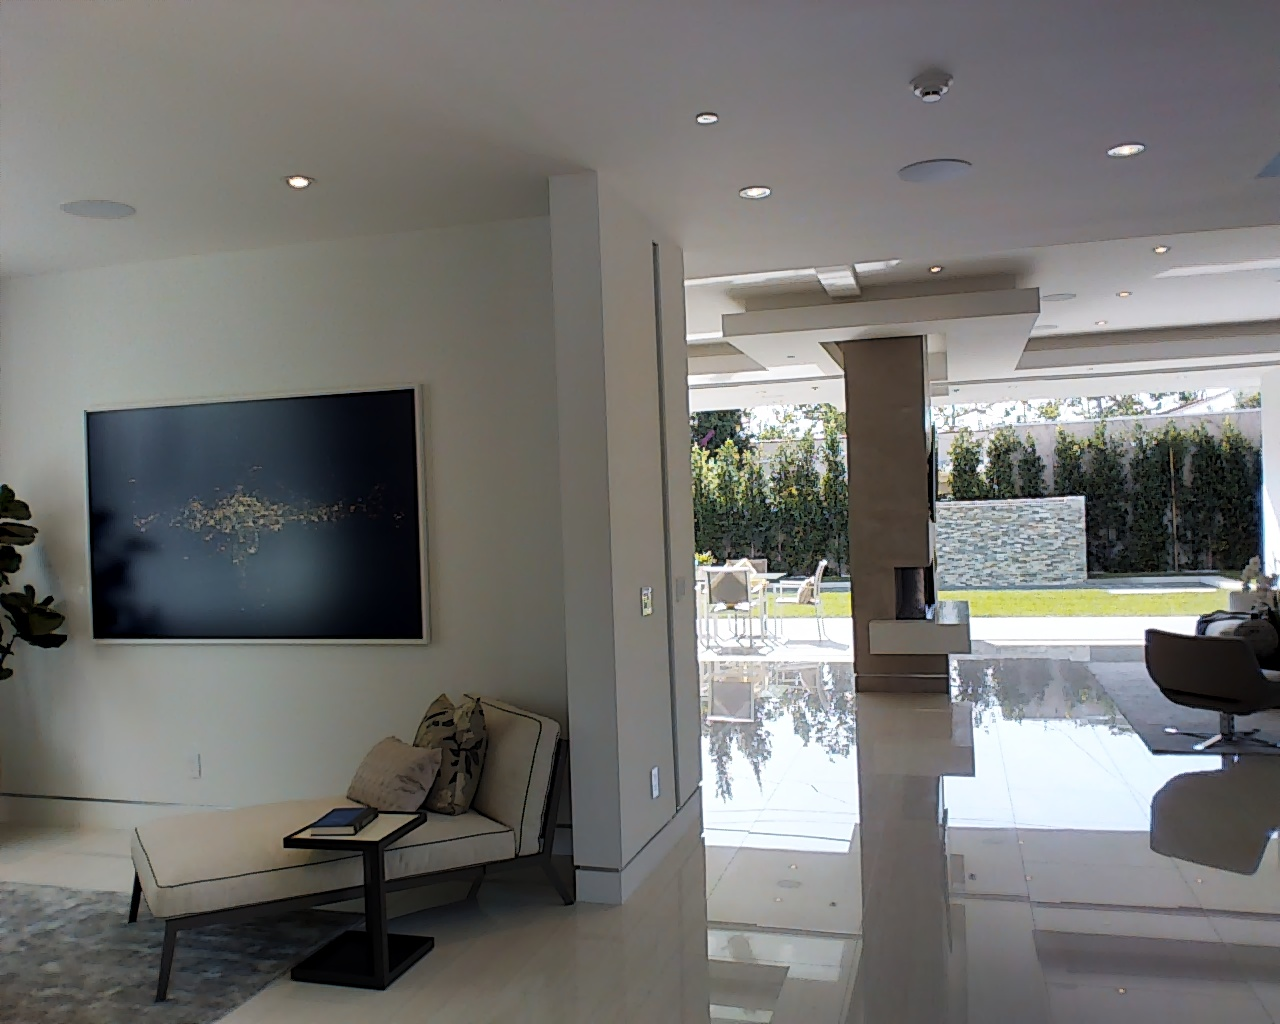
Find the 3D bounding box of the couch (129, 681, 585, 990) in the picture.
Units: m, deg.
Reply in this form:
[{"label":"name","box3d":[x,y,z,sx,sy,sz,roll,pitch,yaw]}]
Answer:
[{"label":"couch","box3d":[-1.110,1.151,4.190,1.519,0.710,0.910,-2,0,-29]}]
